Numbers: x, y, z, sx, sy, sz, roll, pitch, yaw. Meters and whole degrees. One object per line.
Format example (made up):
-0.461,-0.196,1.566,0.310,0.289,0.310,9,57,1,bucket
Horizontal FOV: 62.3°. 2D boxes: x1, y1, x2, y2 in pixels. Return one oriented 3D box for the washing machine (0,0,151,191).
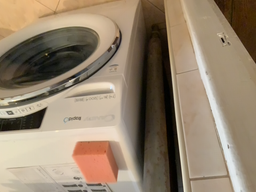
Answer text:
-0.230,-0.060,0.940,0.600,0.840,0.480,-5,131,11,washing machine
